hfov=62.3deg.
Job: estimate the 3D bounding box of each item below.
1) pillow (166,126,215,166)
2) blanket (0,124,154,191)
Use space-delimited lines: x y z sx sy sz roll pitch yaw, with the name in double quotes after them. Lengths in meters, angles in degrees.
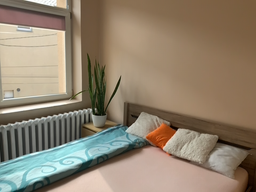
0.660 0.510 2.260 0.410 0.250 0.250 12 14 43 "pillow"
-0.550 0.610 2.140 0.600 0.150 1.880 12 14 43 "blanket"
